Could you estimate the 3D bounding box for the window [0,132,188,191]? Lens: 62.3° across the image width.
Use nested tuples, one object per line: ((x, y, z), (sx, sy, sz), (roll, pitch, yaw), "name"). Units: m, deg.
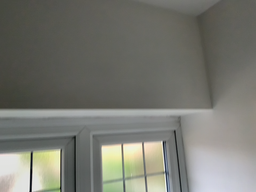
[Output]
((-0.150, 0.590, 0.830), (1.000, 0.830, 0.050), (1, -11, -27), "window")
